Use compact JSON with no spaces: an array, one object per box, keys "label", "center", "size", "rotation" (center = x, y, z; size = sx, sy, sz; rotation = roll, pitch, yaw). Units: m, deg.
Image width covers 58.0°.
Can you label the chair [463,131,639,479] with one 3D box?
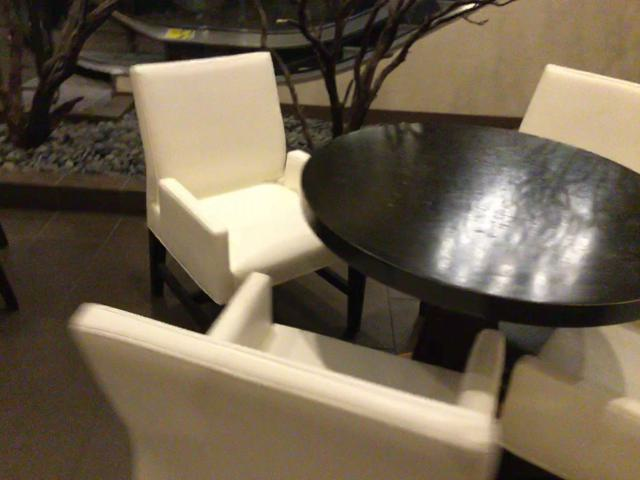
[{"label":"chair","center":[0.810,0.310,1.270],"size":[0.710,0.820,0.640],"rotation":[20,36,32]}]

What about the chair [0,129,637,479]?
[{"label":"chair","center":[0.020,0.350,1.130],"size":[0.780,0.860,0.760],"rotation":[8,31,15]}]

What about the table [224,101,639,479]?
[{"label":"table","center":[0.390,0.190,1.500],"size":[0.880,0.770,0.810],"rotation":[21,37,33]}]

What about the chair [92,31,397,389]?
[{"label":"chair","center":[-0.240,-0.160,1.910],"size":[0.640,0.850,0.690],"rotation":[-20,35,-29]}]
